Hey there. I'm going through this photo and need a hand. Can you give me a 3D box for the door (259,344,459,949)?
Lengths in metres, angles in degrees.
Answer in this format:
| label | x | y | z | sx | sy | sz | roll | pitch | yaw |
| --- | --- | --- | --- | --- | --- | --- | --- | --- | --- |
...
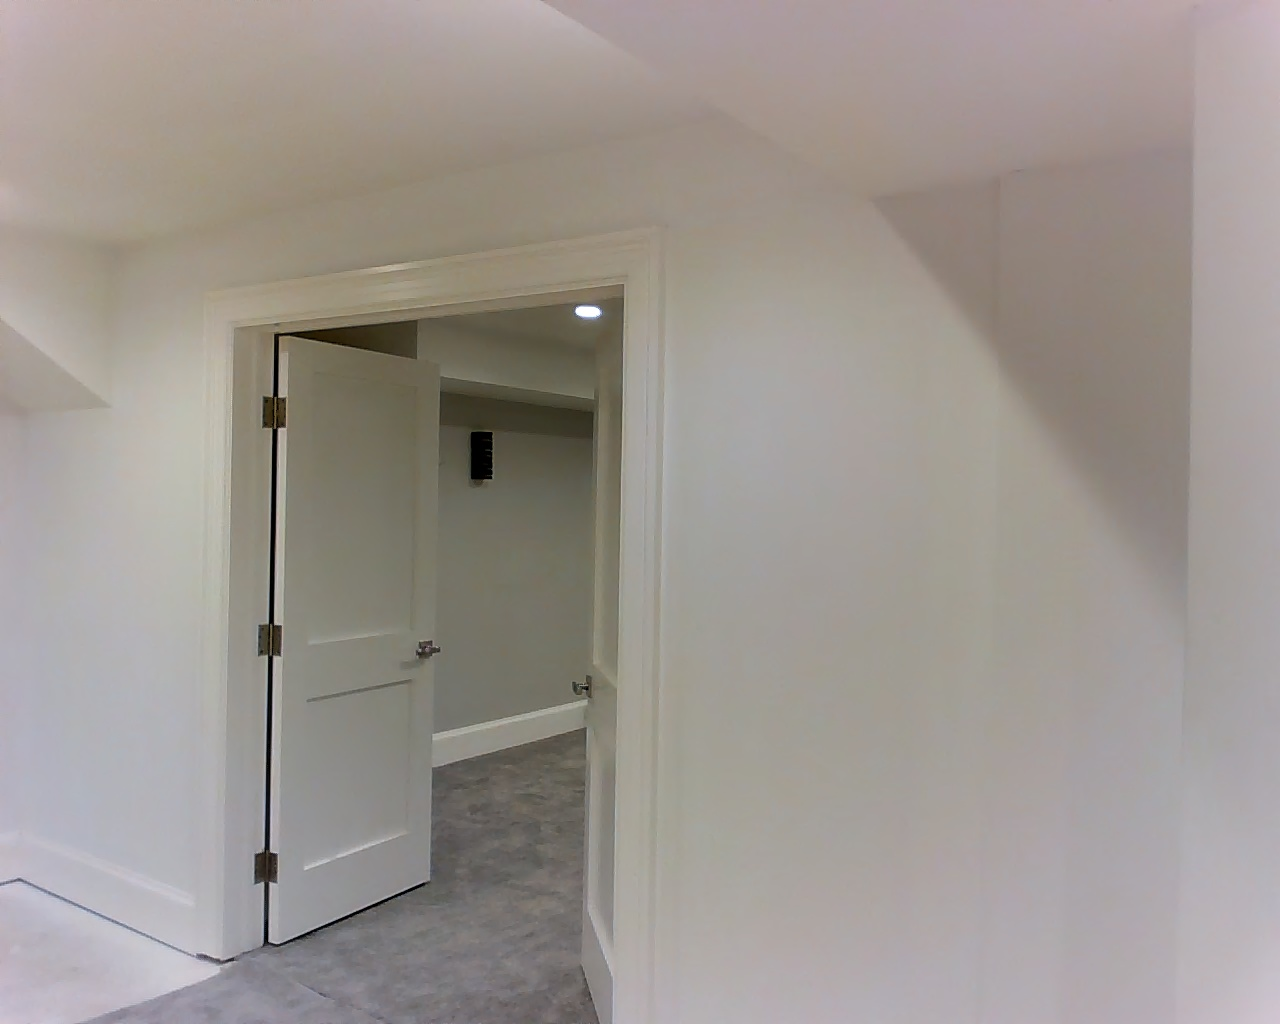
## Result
| label | x | y | z | sx | sy | sz | roll | pitch | yaw |
| --- | --- | --- | --- | --- | --- | --- | --- | --- | --- |
| door | -1.010 | 0.450 | 3.990 | 0.110 | 2.020 | 0.870 | 1 | 1 | 30 |
